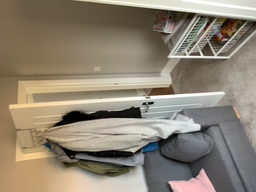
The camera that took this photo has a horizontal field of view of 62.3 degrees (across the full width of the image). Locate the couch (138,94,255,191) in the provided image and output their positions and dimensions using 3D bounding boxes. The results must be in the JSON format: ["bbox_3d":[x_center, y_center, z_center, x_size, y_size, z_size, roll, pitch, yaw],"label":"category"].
[{"bbox_3d":[0.760,0.950,1.940,0.940,0.730,1.640,118,143,-57],"label":"couch"}]

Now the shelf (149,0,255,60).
[{"bbox_3d":[0.640,-0.710,1.970,0.470,0.640,0.570,118,143,-56],"label":"shelf"}]

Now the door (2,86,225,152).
[{"bbox_3d":[-0.060,0.230,2.200,0.810,2.030,0.110,113,148,-52],"label":"door"}]
